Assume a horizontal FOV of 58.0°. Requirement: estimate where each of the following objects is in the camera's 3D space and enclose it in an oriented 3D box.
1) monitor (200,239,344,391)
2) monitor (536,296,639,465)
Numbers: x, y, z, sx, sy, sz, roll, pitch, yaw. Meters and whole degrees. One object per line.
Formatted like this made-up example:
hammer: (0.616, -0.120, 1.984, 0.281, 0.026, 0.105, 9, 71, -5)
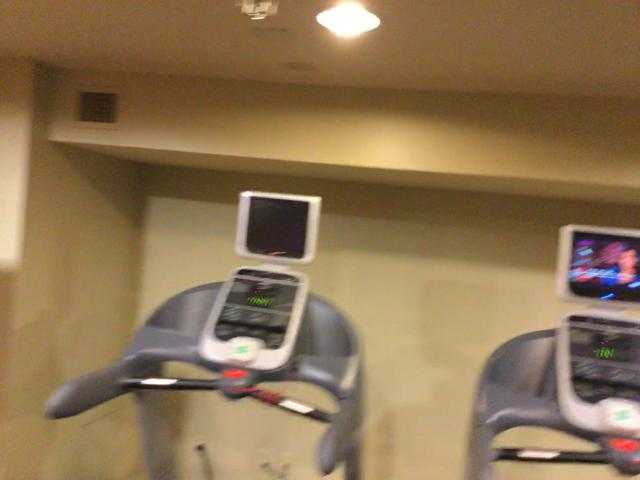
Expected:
monitor: (-0.180, 0.270, 2.120, 0.340, 0.420, 0.120, 40, 14, 13)
monitor: (0.930, 0.430, 1.790, 0.320, 0.390, 0.090, 39, 14, 16)
